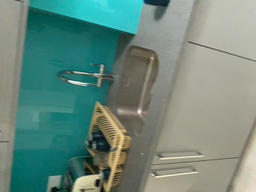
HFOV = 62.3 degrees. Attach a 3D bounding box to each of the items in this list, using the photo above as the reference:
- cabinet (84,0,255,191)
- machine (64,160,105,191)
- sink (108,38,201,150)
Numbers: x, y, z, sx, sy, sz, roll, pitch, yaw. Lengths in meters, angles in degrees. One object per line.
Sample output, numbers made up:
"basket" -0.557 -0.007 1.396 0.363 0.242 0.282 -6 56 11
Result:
"cabinet" 0.370 0.080 1.410 0.590 0.900 1.680 37 118 57
"machine" -0.300 0.610 1.410 0.200 0.180 0.270 37 118 57
"sink" 0.110 -0.030 1.200 0.410 0.220 0.500 37 118 57
